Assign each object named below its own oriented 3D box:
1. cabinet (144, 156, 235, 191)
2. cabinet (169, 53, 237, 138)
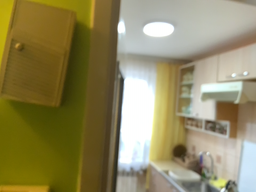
[{"bbox_3d":[0.710,1.410,2.890,0.600,0.800,1.300,5,-1,-12],"label":"cabinet"},{"bbox_3d":[0.960,0.000,2.920,0.320,0.940,1.030,5,-1,-12],"label":"cabinet"}]
